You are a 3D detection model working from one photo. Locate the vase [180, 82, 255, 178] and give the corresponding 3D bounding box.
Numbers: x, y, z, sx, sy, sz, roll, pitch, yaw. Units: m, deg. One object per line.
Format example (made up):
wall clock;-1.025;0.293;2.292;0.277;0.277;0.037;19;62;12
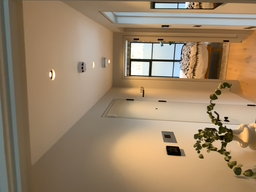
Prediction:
vase;0.720;0.180;1.470;0.640;0.570;0.430;-71;-17;-76
